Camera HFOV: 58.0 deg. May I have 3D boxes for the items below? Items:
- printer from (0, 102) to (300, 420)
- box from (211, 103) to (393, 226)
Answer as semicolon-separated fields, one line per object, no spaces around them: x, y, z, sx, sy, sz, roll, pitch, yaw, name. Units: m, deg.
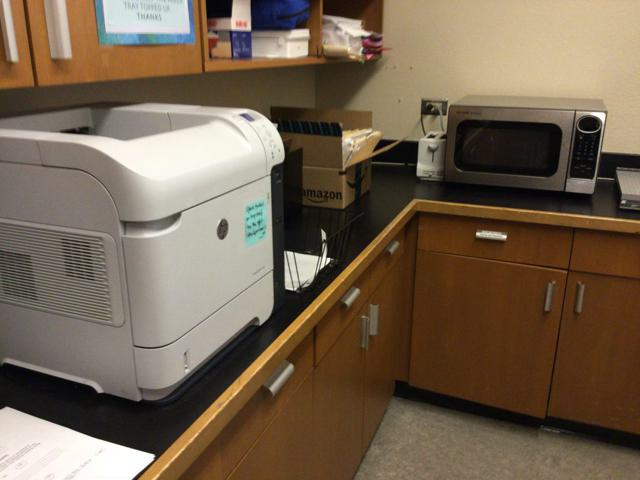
-0.400;-0.030;1.080;0.570;0.410;0.470;6;19;22;printer
-0.040;-0.290;2.020;0.470;0.330;0.470;6;19;22;box
